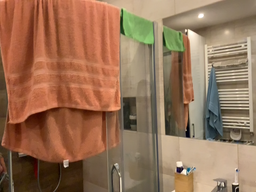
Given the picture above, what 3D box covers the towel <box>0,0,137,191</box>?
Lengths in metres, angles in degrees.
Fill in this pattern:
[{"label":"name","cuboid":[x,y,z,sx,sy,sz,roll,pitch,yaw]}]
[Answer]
[{"label":"towel","cuboid":[-0.320,-0.050,1.070,0.670,0.900,0.210,-2,0,-17]}]
